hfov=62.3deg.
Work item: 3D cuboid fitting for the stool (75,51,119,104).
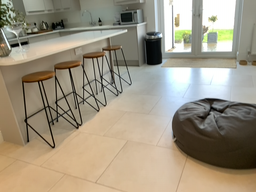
[{"bbox_3d":[-0.440,-0.290,3.160,0.400,0.680,0.430,5,25,24],"label":"stool"}]
